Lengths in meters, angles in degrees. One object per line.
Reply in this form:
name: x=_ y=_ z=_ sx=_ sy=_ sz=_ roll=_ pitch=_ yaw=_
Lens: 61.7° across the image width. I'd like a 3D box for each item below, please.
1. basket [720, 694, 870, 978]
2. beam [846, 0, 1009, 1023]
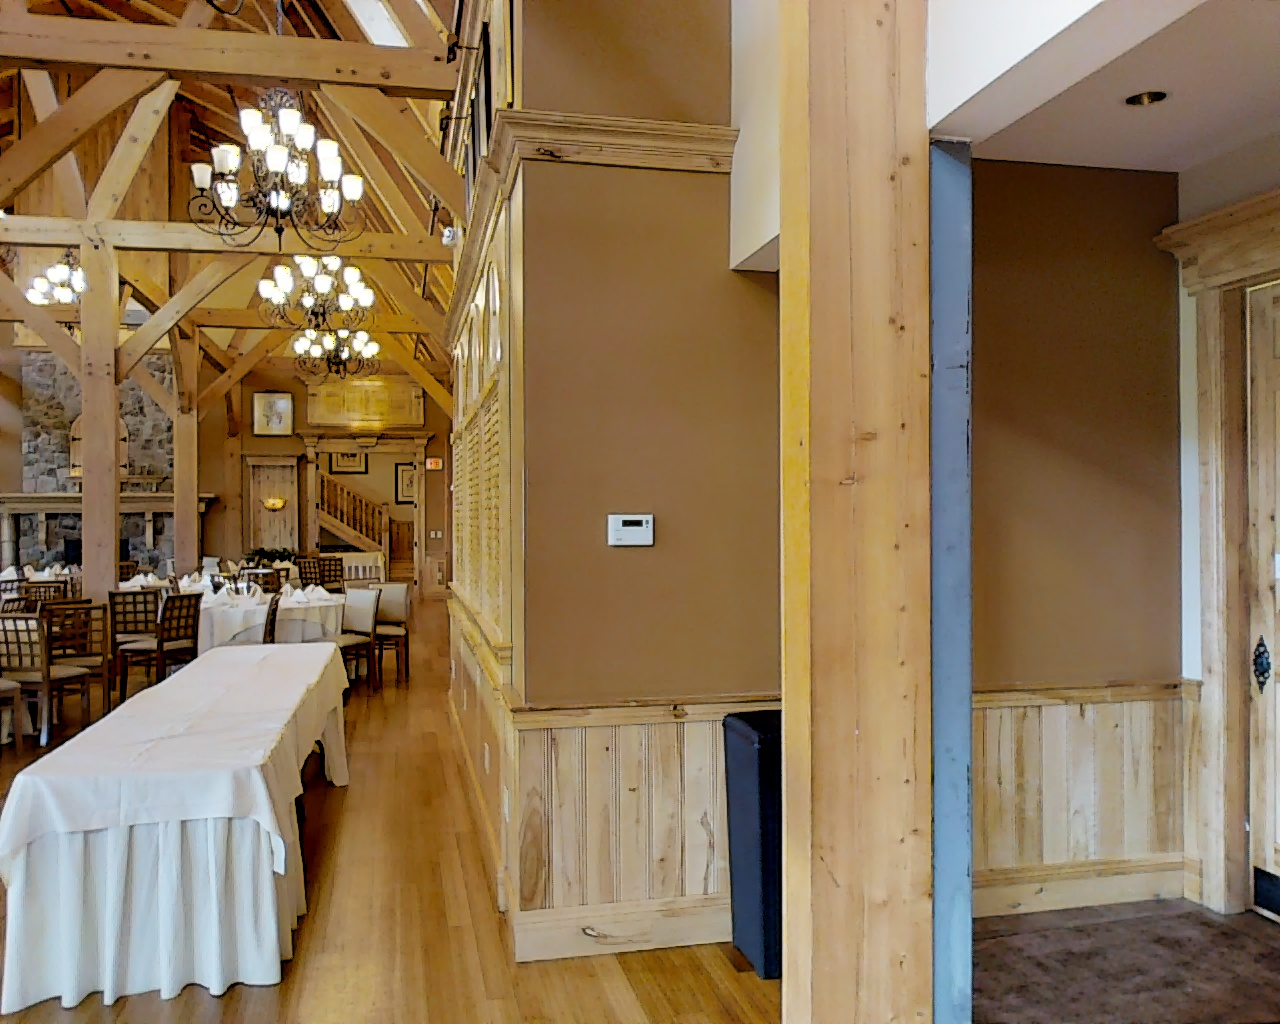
basket: x=0.540 y=1.120 z=3.810 sx=0.400 sy=0.860 sz=0.410 roll=0 pitch=1 yaw=-14
beam: x=0.700 y=0.040 z=2.630 sx=0.300 sy=3.040 sz=0.240 roll=0 pitch=1 yaw=-13
